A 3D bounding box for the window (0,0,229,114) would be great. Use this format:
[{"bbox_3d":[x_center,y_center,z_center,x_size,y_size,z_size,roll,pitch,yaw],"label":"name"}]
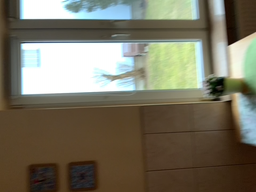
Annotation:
[{"bbox_3d":[-0.110,-0.500,1.620,0.140,1.700,1.190,148,119,-82],"label":"window"}]
